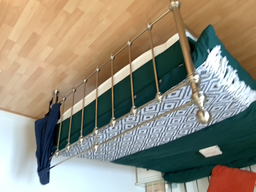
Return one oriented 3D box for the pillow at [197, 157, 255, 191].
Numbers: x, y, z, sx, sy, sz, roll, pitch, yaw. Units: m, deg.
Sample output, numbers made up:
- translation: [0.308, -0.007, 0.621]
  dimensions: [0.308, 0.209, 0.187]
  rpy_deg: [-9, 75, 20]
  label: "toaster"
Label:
- translation: [1.170, 1.010, 2.450]
  dimensions: [0.400, 0.440, 0.500]
  rpy_deg: [23, 140, -36]
  label: "pillow"
